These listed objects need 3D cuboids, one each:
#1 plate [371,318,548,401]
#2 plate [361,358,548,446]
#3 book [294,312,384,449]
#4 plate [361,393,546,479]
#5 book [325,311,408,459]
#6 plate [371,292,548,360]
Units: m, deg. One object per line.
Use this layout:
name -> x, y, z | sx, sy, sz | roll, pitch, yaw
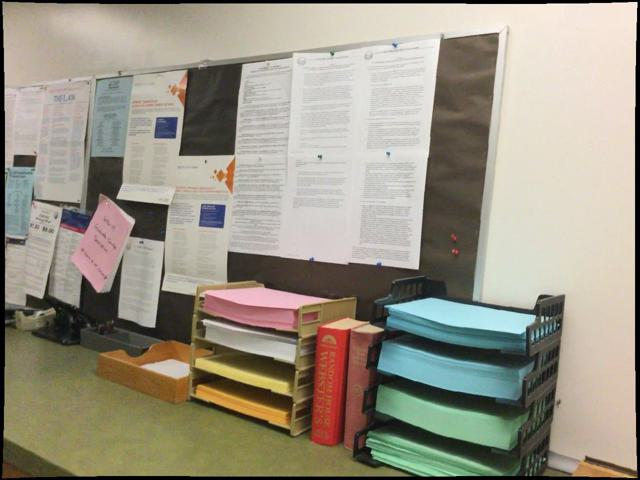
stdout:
plate -> 0.299, 0.241, 1.220 | 0.289, 0.070, 0.260 | 5, 4, 34
plate -> 0.289, 0.331, 1.230 | 0.319, 0.050, 0.250 | 5, 4, 34
book -> 0.050, 0.321, 1.370 | 0.100, 0.261, 0.220 | 5, 4, 34
plate -> 0.289, 0.421, 1.240 | 0.319, 0.050, 0.250 | 5, 4, 34
book -> 0.110, 0.321, 1.320 | 0.100, 0.281, 0.180 | 5, 4, 34
plate -> 0.299, 0.170, 1.220 | 0.289, 0.060, 0.260 | 5, 4, 34
